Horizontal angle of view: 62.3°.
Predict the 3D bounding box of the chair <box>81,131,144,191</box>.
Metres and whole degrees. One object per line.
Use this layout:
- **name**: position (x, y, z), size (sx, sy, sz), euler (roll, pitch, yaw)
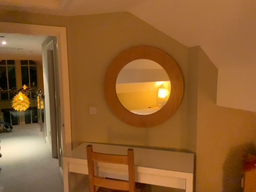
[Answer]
- **chair**: position (-0.110, 0.840, 1.870), size (0.410, 0.940, 0.410), euler (2, 7, 18)
